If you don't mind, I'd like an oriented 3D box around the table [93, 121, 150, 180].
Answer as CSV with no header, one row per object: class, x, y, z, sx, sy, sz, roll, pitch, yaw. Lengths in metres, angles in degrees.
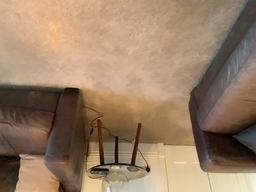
table,-0.080,0.570,2.160,0.500,0.430,0.490,2,145,-5
